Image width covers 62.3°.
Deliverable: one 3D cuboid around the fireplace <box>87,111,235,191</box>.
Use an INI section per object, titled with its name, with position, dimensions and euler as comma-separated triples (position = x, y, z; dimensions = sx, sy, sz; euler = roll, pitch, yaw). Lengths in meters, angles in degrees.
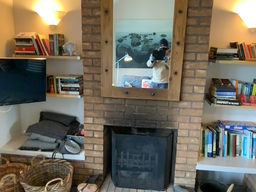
[fireplace]
position = 0.280, 0.700, 2.240
dimensions = 1.140, 0.770, 1.060
euler = 3, 12, 5
